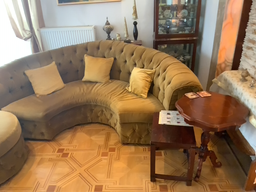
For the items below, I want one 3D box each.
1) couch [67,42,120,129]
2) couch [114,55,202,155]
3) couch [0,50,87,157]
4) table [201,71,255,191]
[{"bbox_3d":[-0.390,-0.180,2.810,0.370,0.870,0.840,2,28,8],"label":"couch"},{"bbox_3d":[0.330,0.040,2.430,0.770,0.770,0.890,2,28,8],"label":"couch"},{"bbox_3d":[-1.200,0.000,2.620,0.810,0.800,0.970,16,33,32],"label":"couch"},{"bbox_3d":[1.010,0.280,1.960,0.310,0.730,0.930,-1,27,2],"label":"table"}]
